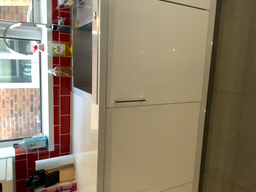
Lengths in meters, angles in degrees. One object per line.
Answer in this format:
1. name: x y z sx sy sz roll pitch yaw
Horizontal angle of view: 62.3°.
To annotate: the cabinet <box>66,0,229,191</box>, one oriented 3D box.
1. cabinet: 0.110 -0.300 1.570 0.650 0.940 2.430 16 105 59
